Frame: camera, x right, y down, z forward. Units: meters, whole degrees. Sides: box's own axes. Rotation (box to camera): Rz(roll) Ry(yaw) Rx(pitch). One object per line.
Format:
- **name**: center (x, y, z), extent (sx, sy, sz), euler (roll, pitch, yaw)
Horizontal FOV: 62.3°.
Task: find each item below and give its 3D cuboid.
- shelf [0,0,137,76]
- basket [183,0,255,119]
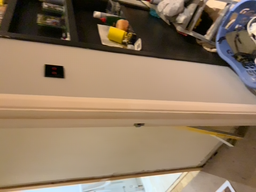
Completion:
- **shelf**: center (-0.700, -0.540, 1.500), extent (1.040, 1.340, 0.050), euler (-110, 32, -42)
- **basket**: center (0.750, -0.310, 1.420), extent (0.800, 0.230, 0.500), euler (-112, 33, -44)
